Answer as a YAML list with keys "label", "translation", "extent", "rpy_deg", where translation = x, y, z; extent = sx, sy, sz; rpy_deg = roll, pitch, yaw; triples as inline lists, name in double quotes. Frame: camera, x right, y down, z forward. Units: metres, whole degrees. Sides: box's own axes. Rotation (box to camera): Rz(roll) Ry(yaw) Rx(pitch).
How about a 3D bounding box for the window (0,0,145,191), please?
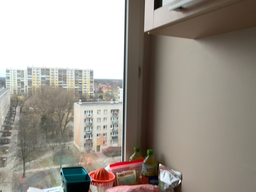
- label: "window"
  translation: [-0.620, -0.170, 0.940]
  extent: [1.520, 1.460, 0.170]
  rpy_deg: [-1, 5, -29]
